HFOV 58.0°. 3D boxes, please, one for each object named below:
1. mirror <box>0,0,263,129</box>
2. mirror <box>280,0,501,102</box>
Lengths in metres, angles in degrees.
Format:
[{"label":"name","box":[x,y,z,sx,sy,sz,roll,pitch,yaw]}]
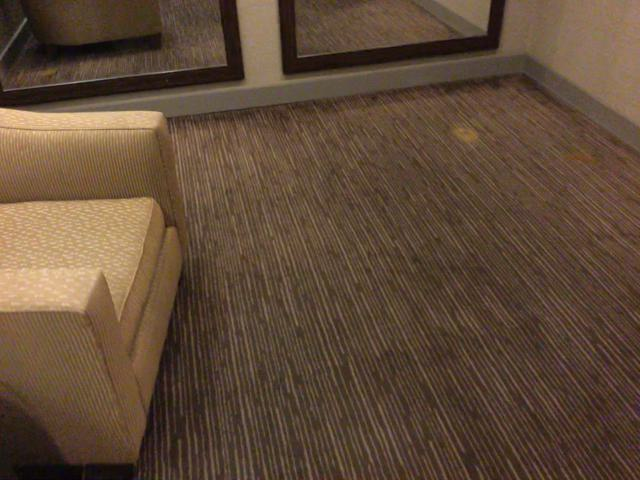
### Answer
[{"label":"mirror","box":[-0.940,-1.140,2.490,1.240,1.150,0.190,-11,37,-8]},{"label":"mirror","box":[0.340,-1.300,2.740,1.060,1.100,0.240,-12,37,-10]}]
